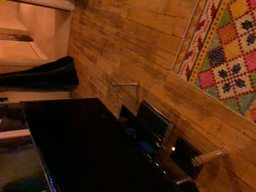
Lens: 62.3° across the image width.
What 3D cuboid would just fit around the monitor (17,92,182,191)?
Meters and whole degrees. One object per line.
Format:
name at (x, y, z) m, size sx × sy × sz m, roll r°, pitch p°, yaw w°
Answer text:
monitor at (-0.260, 0.270, 1.400) m, size 1.080 × 0.680 × 0.060 m, roll 43°, pitch 125°, yaw 43°

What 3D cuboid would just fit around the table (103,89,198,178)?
table at (0.130, 0.240, 1.690) m, size 0.710 × 0.300 × 0.320 m, roll 40°, pitch 123°, yaw 45°
